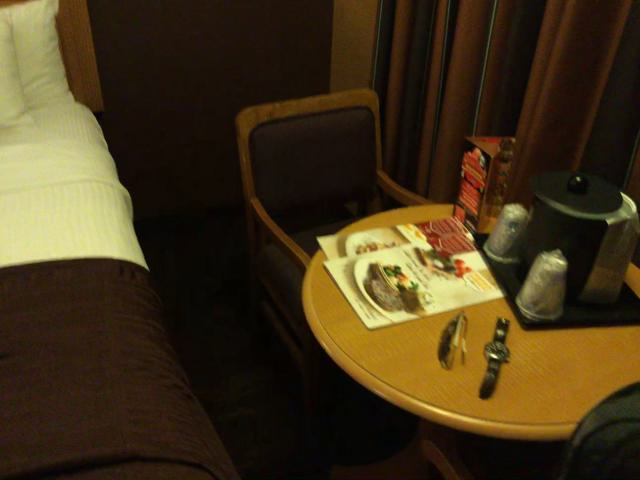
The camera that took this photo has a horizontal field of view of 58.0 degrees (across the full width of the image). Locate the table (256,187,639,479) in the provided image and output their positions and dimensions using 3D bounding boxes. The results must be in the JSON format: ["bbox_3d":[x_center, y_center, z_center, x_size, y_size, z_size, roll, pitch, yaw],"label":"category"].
[{"bbox_3d":[0.300,0.410,1.350,0.670,0.800,0.710,-9,29,-25],"label":"table"}]
